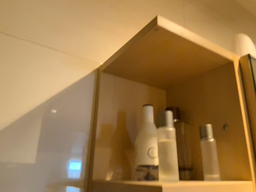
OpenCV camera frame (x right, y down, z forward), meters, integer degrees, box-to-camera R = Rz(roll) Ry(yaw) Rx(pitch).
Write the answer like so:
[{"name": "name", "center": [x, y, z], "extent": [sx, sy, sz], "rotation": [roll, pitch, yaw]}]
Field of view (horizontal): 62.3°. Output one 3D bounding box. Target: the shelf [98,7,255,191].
[{"name": "shelf", "center": [0.080, 0.220, 0.330], "extent": [0.200, 0.650, 0.190], "rotation": [14, -23, -30]}]
